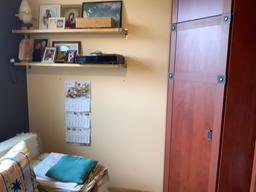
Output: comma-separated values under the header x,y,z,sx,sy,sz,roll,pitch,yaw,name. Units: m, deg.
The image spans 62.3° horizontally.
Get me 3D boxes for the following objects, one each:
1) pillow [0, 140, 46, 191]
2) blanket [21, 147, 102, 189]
x,y,z,sx,sy,sz,roll,pitch,yaw,name
-0.880,0.620,1.470,0.240,0.400,0.660,4,9,12,pillow
-0.590,0.650,1.980,0.590,0.130,0.430,3,9,11,blanket
